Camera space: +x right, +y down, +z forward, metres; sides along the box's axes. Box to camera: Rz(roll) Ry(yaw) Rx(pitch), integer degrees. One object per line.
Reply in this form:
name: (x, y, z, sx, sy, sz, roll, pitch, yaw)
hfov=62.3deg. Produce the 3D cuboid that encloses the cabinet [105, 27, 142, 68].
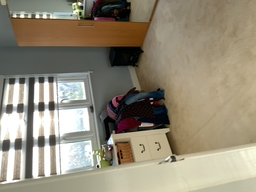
cabinet: (-0.100, -0.900, 3.960, 0.440, 0.510, 0.590, 111, 150, -54)
